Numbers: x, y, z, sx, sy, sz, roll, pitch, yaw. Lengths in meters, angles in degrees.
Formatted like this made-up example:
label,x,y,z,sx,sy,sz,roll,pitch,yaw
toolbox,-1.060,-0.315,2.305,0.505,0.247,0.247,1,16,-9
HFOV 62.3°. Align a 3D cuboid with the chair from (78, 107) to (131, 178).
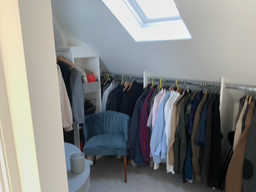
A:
label,x,y,z,sx,sy,sz,roll,pitch,yaw
chair,-0.250,0.520,2.530,0.550,0.660,0.530,0,14,-1
